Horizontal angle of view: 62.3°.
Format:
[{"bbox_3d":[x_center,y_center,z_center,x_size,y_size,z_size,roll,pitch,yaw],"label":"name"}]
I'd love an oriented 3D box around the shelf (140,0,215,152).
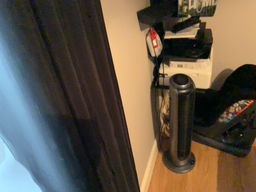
[{"bbox_3d":[0.380,-0.200,1.540,0.370,1.190,0.480,6,38,20],"label":"shelf"}]
